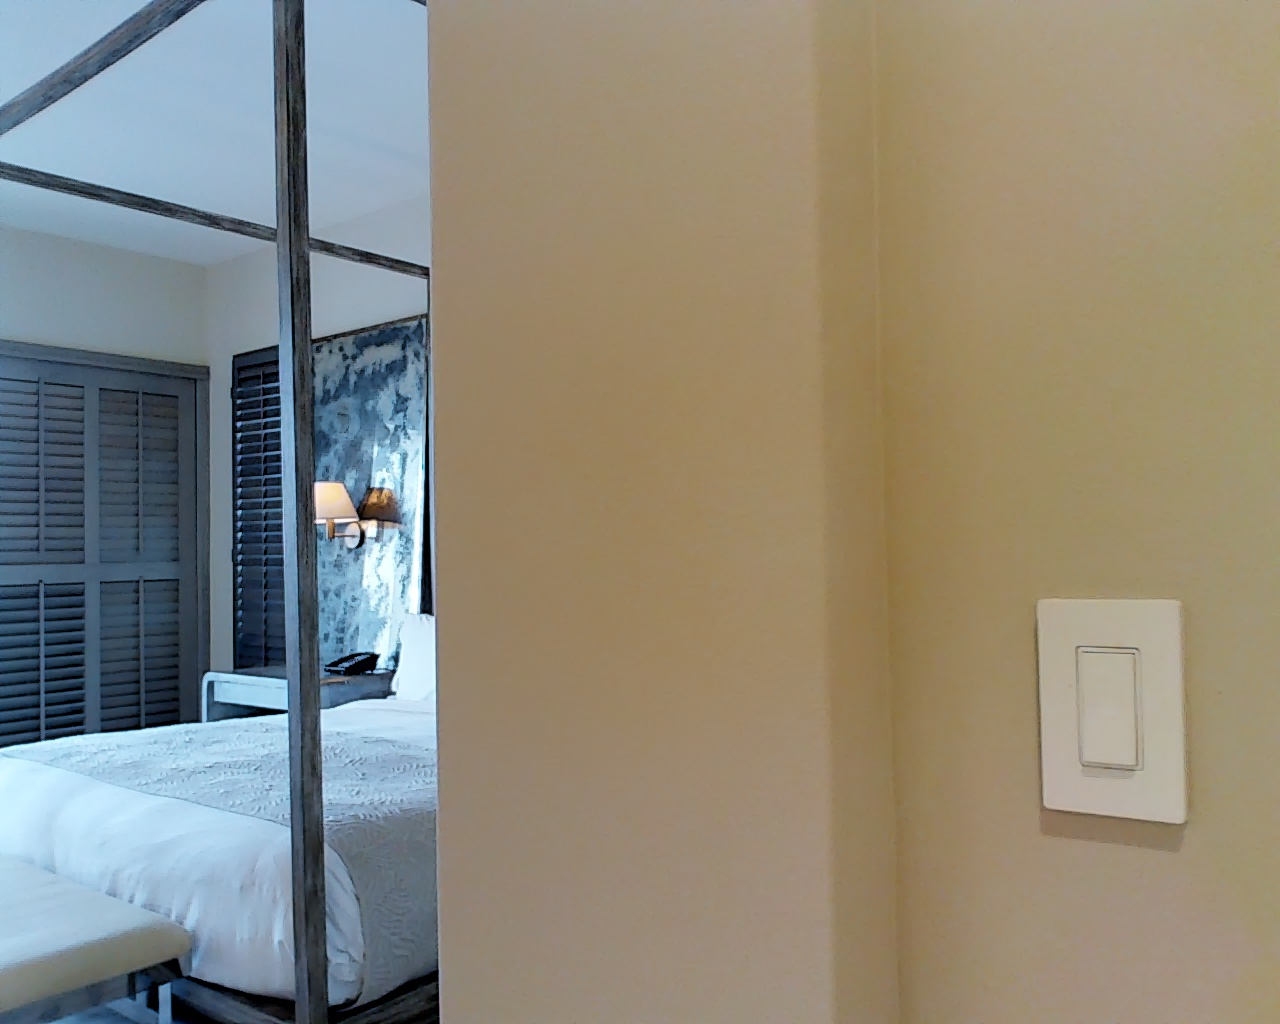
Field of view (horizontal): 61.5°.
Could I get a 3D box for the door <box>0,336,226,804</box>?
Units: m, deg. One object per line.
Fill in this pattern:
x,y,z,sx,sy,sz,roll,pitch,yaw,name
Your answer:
-2.980,0.300,6.100,0.180,2.410,1.260,-2,-2,38,door
